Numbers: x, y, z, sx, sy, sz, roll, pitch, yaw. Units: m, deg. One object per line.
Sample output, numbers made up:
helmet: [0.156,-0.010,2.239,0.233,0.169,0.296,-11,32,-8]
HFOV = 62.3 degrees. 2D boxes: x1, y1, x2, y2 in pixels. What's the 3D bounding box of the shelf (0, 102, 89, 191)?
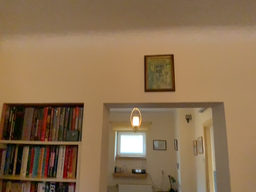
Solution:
shelf: [-0.630,1.010,1.330,0.630,1.960,0.110,0,-13,7]
